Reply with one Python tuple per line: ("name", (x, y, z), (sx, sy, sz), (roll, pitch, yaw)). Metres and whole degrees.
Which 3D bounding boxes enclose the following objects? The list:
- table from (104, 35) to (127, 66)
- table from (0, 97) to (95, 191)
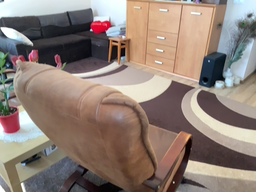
("table", (-0.240, -0.890, 4.120), (0.330, 0.470, 0.290), (24, 36, 37))
("table", (-0.660, 0.390, 1.580), (0.480, 0.440, 0.660), (20, 32, 32))
